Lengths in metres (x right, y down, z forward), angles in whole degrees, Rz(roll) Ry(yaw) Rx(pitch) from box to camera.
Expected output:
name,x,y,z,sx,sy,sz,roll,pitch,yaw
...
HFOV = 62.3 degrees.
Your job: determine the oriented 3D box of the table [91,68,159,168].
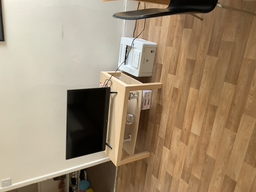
name,x,y,z,sx,sy,sz,roll,pitch,yaw
table,-0.080,0.210,2.470,0.590,0.470,0.930,32,122,51
